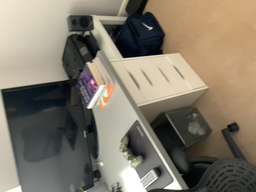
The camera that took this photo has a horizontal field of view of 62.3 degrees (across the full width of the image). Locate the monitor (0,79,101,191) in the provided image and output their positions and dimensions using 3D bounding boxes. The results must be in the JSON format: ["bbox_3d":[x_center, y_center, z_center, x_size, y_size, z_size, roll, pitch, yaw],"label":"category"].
[{"bbox_3d":[-0.440,0.300,1.310,0.070,0.470,0.750,2,102,53],"label":"monitor"}]

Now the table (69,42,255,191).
[{"bbox_3d":[0.310,0.490,1.380,1.540,0.720,0.800,58,140,25],"label":"table"}]
